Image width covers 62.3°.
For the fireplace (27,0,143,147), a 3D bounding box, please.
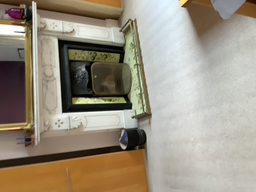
[{"bbox_3d":[-0.590,-0.310,2.760,0.480,1.250,1.730,-33,61,58],"label":"fireplace"}]
